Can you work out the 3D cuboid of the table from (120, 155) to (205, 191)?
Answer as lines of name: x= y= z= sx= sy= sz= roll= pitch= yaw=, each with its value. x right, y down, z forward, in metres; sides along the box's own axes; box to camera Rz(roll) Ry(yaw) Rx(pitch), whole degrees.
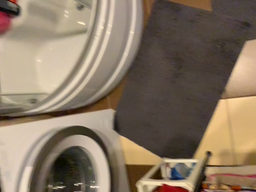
table: x=0.190 y=0.510 z=0.990 sx=0.290 sy=0.330 sz=0.370 roll=-9 pitch=87 yaw=25
